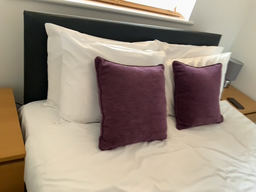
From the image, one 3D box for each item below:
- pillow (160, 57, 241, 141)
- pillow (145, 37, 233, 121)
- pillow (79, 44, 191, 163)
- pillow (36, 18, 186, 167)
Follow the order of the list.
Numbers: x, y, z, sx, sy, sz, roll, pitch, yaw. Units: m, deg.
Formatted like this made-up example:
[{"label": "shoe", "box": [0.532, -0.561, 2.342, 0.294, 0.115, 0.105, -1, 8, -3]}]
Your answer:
[{"label": "pillow", "box": [0.440, 0.000, 1.260, 0.410, 0.360, 0.170, -20, 15, -23]}, {"label": "pillow", "box": [0.420, -0.130, 1.390, 0.560, 0.400, 0.170, -17, 18, -24]}, {"label": "pillow", "box": [0.030, 0.020, 0.950, 0.370, 0.380, 0.170, -21, 11, -15]}, {"label": "pillow", "box": [-0.040, -0.060, 1.060, 0.630, 0.530, 0.230, -18, 19, -28]}]
